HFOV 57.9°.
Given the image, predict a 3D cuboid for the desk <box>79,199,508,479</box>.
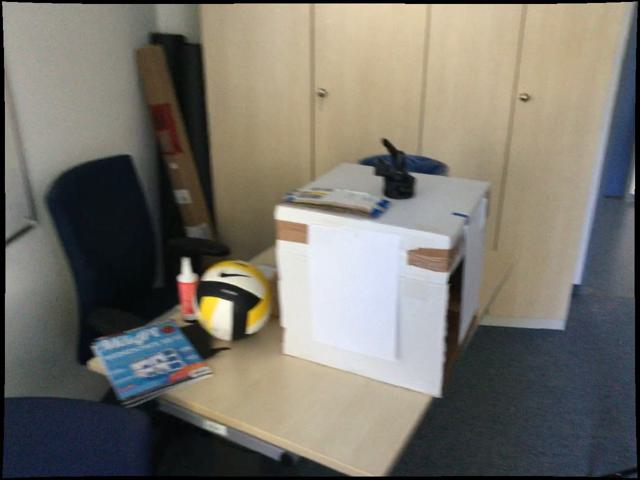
[{"bbox_3d":[0.040,0.470,1.850,0.749,0.751,1.190,12,28,26],"label":"desk"}]
